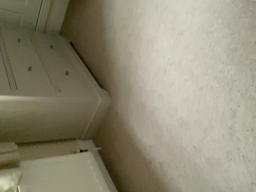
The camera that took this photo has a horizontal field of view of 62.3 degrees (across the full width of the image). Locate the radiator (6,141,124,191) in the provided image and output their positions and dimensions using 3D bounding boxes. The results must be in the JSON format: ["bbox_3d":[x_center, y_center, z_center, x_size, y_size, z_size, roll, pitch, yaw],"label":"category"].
[{"bbox_3d":[-0.250,0.710,1.180,0.990,0.610,0.110,54,127,35],"label":"radiator"}]
